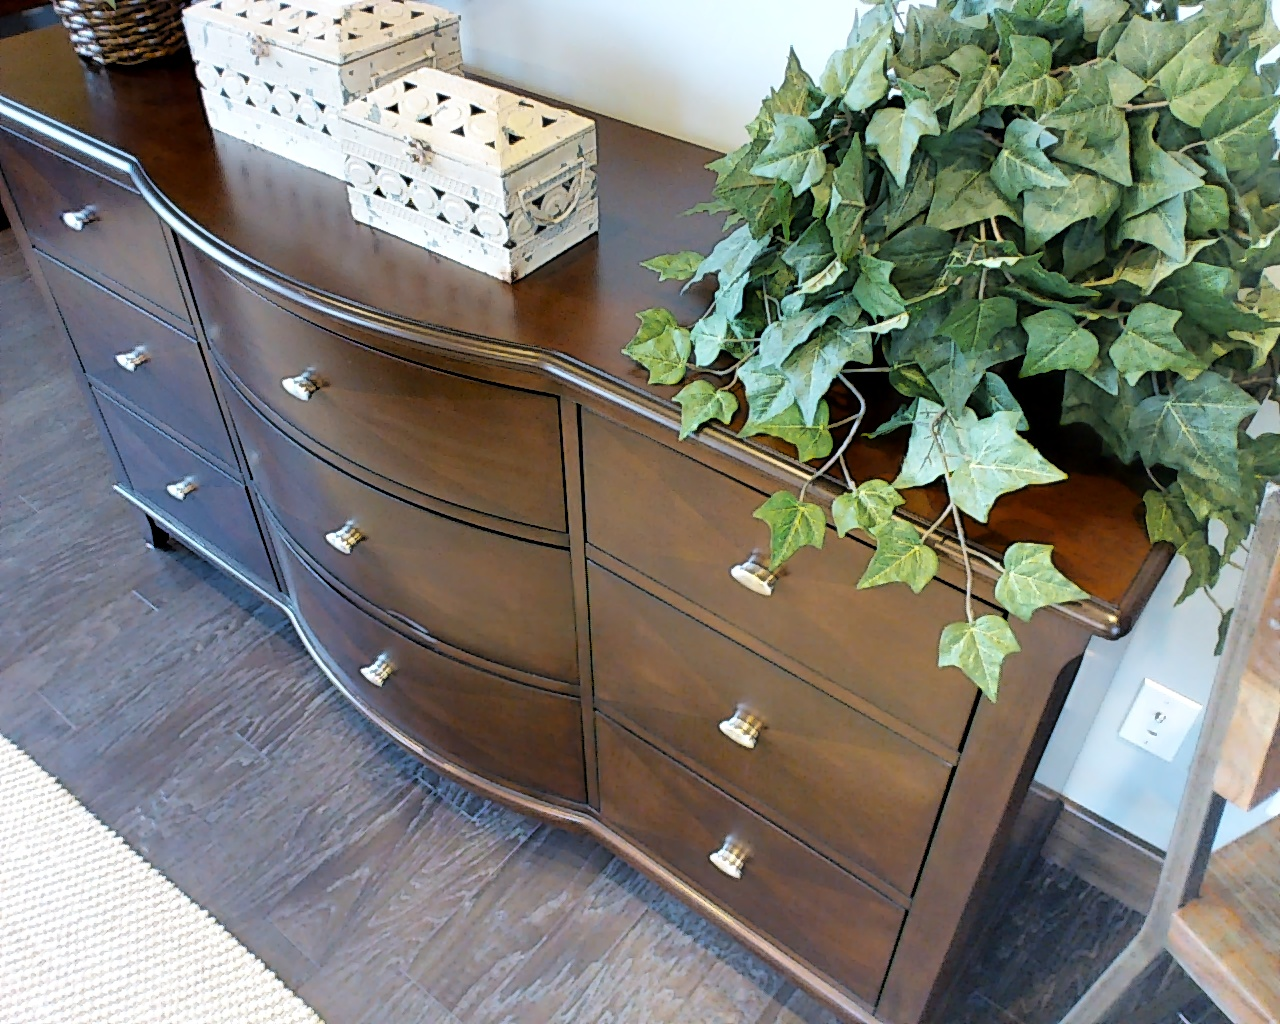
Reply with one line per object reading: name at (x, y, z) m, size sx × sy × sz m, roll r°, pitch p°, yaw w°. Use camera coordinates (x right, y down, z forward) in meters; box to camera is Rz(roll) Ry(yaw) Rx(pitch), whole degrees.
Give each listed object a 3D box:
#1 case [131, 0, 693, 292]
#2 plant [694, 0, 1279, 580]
case at (-0.250, -0.450, 1.160) m, size 0.560 × 0.150 × 0.270 m, roll 28°, pitch 50°, yaw 28°
plant at (0.330, -0.250, 0.800) m, size 0.430 × 0.280 × 0.380 m, roll 28°, pitch 50°, yaw 28°
